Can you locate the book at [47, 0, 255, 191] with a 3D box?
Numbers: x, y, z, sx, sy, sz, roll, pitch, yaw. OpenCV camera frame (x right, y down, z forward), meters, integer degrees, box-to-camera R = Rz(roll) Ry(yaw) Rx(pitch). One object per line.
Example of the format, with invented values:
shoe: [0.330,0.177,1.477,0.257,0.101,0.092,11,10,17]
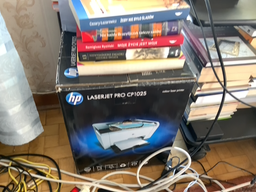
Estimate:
book: [-0.050,-0.180,0.620,0.260,0.590,0.670,-9,46,-13]
